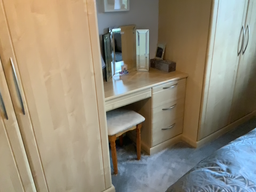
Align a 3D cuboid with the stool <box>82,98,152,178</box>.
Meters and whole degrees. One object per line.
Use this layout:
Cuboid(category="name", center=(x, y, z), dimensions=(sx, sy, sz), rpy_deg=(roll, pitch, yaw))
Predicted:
Cuboid(category="stool", center=(-0.100, 0.360, 2.000), dimensions=(0.450, 0.460, 0.460), rpy_deg=(-19, 29, -34))
